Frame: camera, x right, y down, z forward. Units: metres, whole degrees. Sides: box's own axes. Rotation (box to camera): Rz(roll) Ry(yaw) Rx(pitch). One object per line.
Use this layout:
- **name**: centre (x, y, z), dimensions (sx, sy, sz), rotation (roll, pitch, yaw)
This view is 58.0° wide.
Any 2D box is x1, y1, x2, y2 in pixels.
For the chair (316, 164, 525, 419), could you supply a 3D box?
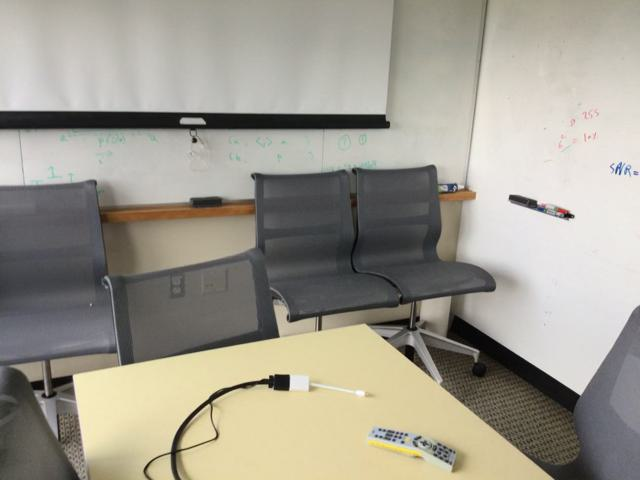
- **chair**: centre (0.410, 0.180, 2.630), dimensions (0.650, 0.940, 0.580), rotation (-6, 19, -24)

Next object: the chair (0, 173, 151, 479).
- **chair**: centre (-0.970, 0.300, 2.010), dimensions (0.600, 0.940, 0.610), rotation (-6, 19, -24)

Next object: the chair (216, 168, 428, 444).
- **chair**: centre (-0.030, 0.220, 2.450), dimensions (0.670, 0.930, 0.580), rotation (-6, 19, -24)
